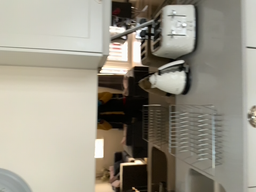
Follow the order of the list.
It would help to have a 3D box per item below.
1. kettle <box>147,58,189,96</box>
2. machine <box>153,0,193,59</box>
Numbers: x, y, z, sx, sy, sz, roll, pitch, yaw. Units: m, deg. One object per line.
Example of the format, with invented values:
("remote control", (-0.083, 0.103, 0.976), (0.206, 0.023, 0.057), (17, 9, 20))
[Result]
("kettle", (0.250, -0.110, 1.380), (0.240, 0.190, 0.210), (167, 104, -76))
("machine", (0.270, -0.400, 1.300), (0.190, 0.170, 0.300), (172, 99, -77))
